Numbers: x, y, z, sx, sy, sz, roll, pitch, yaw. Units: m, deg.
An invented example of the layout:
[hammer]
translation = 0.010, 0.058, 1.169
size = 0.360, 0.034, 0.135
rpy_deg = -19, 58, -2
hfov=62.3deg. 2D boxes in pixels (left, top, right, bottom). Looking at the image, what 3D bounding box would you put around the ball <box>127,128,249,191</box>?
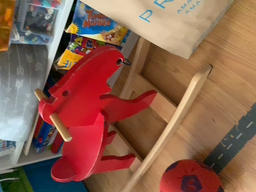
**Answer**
[ball]
translation = 0.180, 0.280, 0.680
size = 0.250, 0.190, 0.210
rpy_deg = 48, 121, 31
